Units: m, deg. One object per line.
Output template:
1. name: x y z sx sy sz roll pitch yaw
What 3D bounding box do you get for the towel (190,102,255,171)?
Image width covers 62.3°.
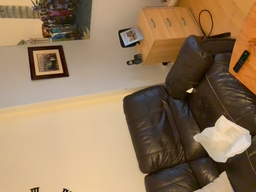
1. towel: 0.640 0.300 1.490 0.450 0.100 0.310 108 147 -54

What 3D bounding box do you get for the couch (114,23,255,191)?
1. couch: 0.690 0.610 1.510 0.980 0.930 2.030 112 143 -58
